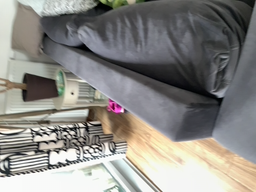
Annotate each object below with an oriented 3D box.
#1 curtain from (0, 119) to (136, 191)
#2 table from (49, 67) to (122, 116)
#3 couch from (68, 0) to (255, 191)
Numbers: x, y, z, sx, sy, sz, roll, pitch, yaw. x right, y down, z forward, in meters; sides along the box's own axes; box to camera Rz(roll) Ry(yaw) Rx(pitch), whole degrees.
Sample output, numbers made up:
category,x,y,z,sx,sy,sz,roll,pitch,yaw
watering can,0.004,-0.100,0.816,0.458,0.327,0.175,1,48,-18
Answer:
category,x,y,z,sx,sy,sz,roll,pitch,yaw
curtain,-1.150,0.460,1.630,0.710,2.540,0.200,26,109,50
table,-0.450,-0.050,2.230,0.370,0.600,0.380,30,112,48
couch,0.360,-0.410,1.070,1.210,0.760,1.030,32,114,48
